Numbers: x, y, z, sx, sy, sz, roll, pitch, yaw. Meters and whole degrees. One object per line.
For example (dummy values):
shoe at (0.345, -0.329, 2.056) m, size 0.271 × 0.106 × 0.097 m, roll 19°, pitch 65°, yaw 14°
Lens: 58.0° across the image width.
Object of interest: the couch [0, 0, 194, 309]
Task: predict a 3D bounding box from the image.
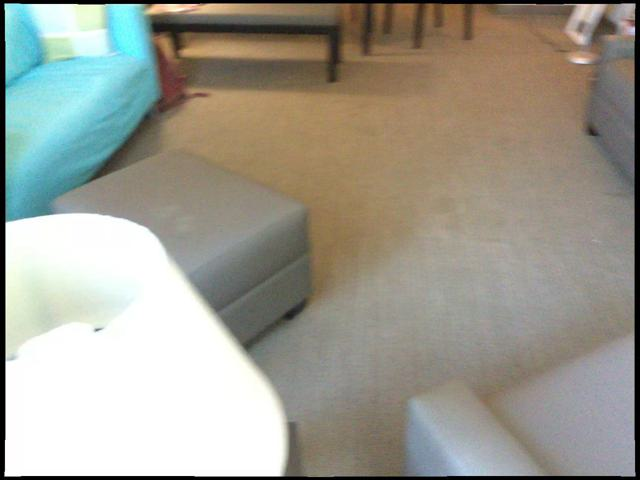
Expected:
couch at (-1.437, -0.651, 2.610) m, size 0.988 × 0.811 × 2.001 m, roll 4°, pitch 33°, yaw 8°
